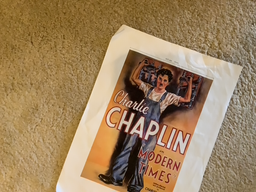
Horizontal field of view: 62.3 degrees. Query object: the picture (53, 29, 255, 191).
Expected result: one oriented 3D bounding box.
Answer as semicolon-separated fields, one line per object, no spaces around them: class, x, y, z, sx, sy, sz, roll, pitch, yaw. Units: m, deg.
picture;0.040;0.090;0.330;0.240;0.030;0.320;22;85;-1
